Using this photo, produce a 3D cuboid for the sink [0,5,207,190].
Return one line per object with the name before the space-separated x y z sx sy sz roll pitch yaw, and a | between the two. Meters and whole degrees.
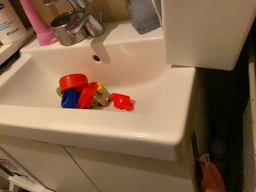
sink | -0.110 -0.040 0.600 0.590 0.170 0.420 2 45 25
